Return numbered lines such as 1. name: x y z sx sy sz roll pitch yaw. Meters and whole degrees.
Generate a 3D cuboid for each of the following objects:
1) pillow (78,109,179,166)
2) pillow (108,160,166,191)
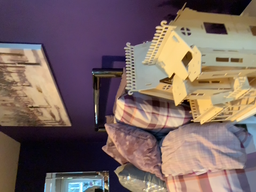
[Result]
1. pillow: 0.020 0.290 1.330 0.450 0.460 0.190 36 -139 -58
2. pillow: 0.080 0.610 1.560 0.460 0.350 0.170 72 -169 -65
